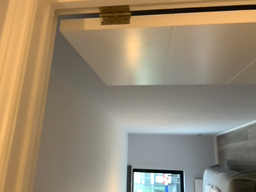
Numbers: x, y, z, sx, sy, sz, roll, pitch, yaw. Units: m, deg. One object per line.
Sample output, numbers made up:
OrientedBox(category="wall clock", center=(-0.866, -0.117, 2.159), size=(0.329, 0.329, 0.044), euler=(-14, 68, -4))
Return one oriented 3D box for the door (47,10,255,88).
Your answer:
OrientedBox(category="door", center=(0.750, -0.160, 1.000), size=(0.790, 1.980, 0.040), euler=(62, -151, -76))
